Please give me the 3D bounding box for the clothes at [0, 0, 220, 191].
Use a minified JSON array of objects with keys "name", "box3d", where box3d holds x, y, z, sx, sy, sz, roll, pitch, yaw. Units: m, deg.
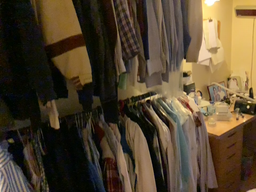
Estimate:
[{"name":"clothes","box3d":[-0.300,0.120,1.270,1.880,2.160,0.580,-15,18,-31]}]
